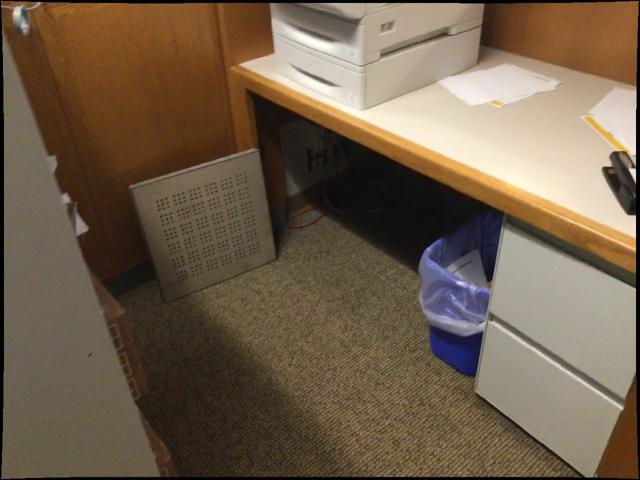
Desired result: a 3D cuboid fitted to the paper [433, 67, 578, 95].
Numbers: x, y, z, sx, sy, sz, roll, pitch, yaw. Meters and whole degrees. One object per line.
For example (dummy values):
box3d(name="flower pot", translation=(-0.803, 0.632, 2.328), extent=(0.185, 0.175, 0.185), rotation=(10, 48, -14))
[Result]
box3d(name="paper", translation=(0.529, -0.461, 1.660), extent=(0.300, 0.040, 0.270), rotation=(-18, 23, -32))

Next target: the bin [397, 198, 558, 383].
box3d(name="bin", translation=(0.449, 0.130, 1.690), extent=(0.340, 0.381, 0.270), rotation=(-18, 29, -32))
